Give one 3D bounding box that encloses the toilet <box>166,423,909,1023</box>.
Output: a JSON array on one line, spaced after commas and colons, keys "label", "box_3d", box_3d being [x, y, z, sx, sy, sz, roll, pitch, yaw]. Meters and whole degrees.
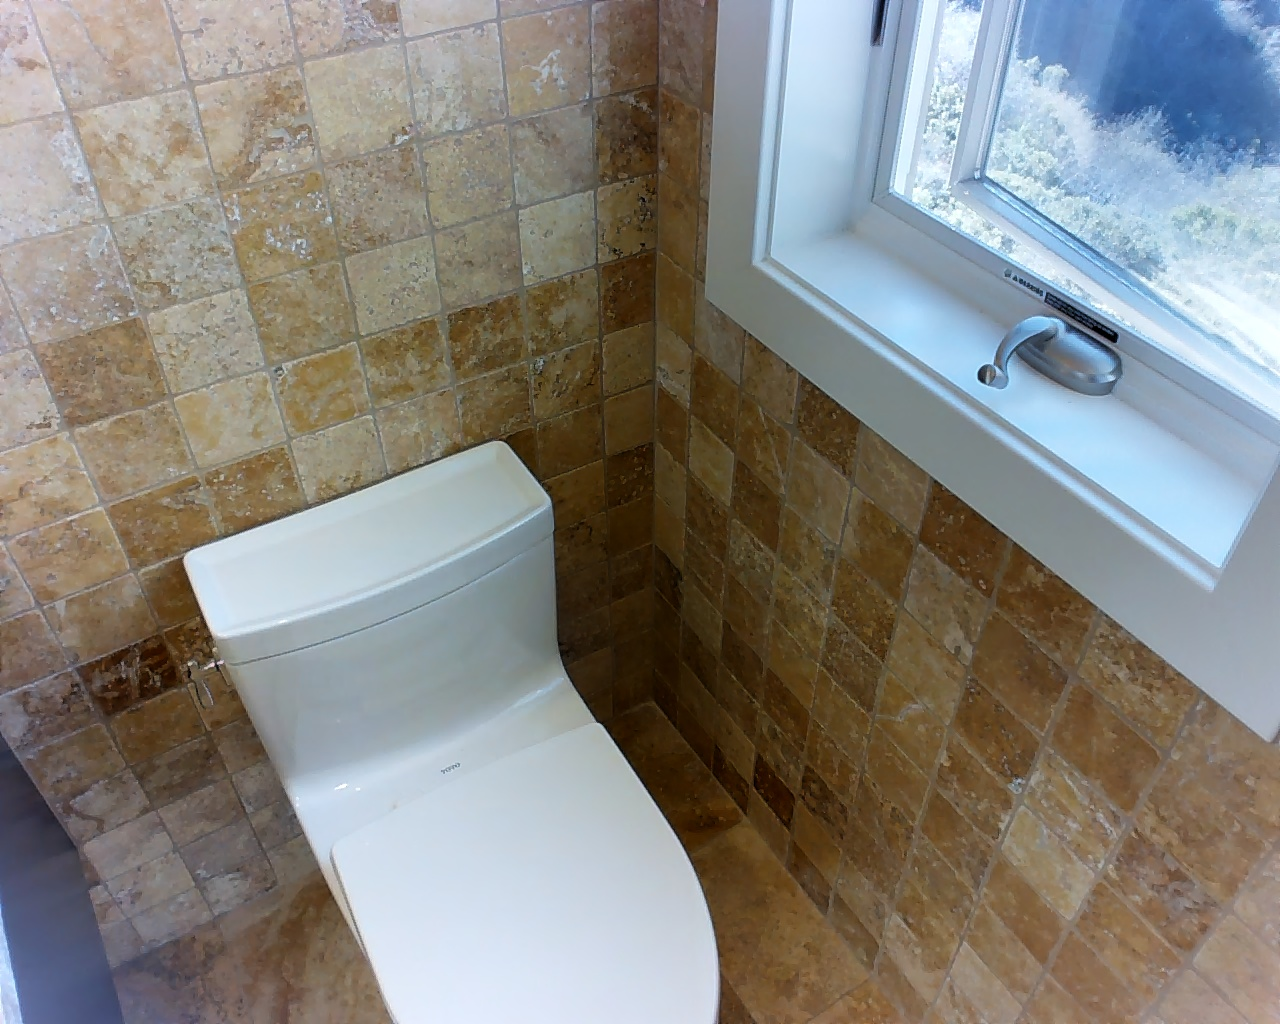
[{"label": "toilet", "box_3d": [-0.150, 0.450, 1.320, 0.460, 0.750, 0.720, -22, 47, -22]}]
